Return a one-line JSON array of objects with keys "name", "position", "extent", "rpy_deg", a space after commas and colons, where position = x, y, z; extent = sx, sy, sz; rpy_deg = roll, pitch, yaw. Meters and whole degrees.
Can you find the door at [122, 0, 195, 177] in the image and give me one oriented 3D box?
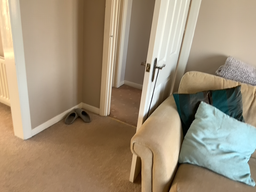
[{"name": "door", "position": [0.290, -0.360, 1.610], "extent": [0.100, 1.950, 0.740], "rpy_deg": [19, 27, 23]}]
